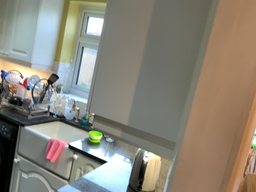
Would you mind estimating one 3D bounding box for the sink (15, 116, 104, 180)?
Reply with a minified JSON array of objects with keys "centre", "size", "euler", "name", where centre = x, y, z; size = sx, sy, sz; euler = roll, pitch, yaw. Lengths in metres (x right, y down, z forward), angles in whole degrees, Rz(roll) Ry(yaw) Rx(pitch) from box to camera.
[{"centre":[-0.600,0.420,1.890],"size":[0.580,0.280,0.430],"euler":[16,8,25],"name":"sink"}]
